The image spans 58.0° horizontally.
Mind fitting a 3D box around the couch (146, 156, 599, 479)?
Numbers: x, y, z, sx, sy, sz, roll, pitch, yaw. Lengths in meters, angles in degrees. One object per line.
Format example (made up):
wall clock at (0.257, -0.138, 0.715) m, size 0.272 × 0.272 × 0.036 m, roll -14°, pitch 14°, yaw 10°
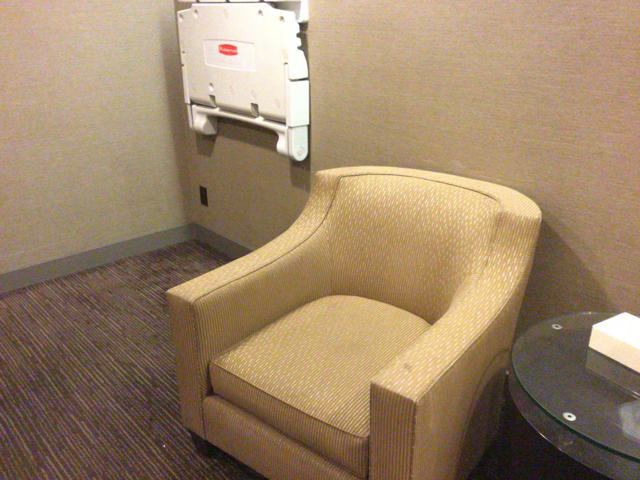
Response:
couch at (0.160, 0.280, 1.820) m, size 0.930 × 0.860 × 0.990 m, roll 18°, pitch 22°, yaw 36°
